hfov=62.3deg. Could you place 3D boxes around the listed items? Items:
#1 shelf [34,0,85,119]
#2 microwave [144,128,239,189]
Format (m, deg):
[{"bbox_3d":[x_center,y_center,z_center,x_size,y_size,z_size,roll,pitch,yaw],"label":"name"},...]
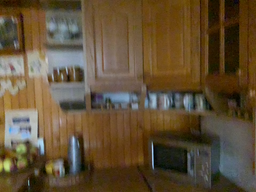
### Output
[{"bbox_3d":[-0.500,-0.300,1.630,0.300,0.890,0.340,-2,4,-10],"label":"shelf"},{"bbox_3d":[0.460,0.450,1.670,0.550,0.270,0.480,-2,4,-11],"label":"microwave"}]
